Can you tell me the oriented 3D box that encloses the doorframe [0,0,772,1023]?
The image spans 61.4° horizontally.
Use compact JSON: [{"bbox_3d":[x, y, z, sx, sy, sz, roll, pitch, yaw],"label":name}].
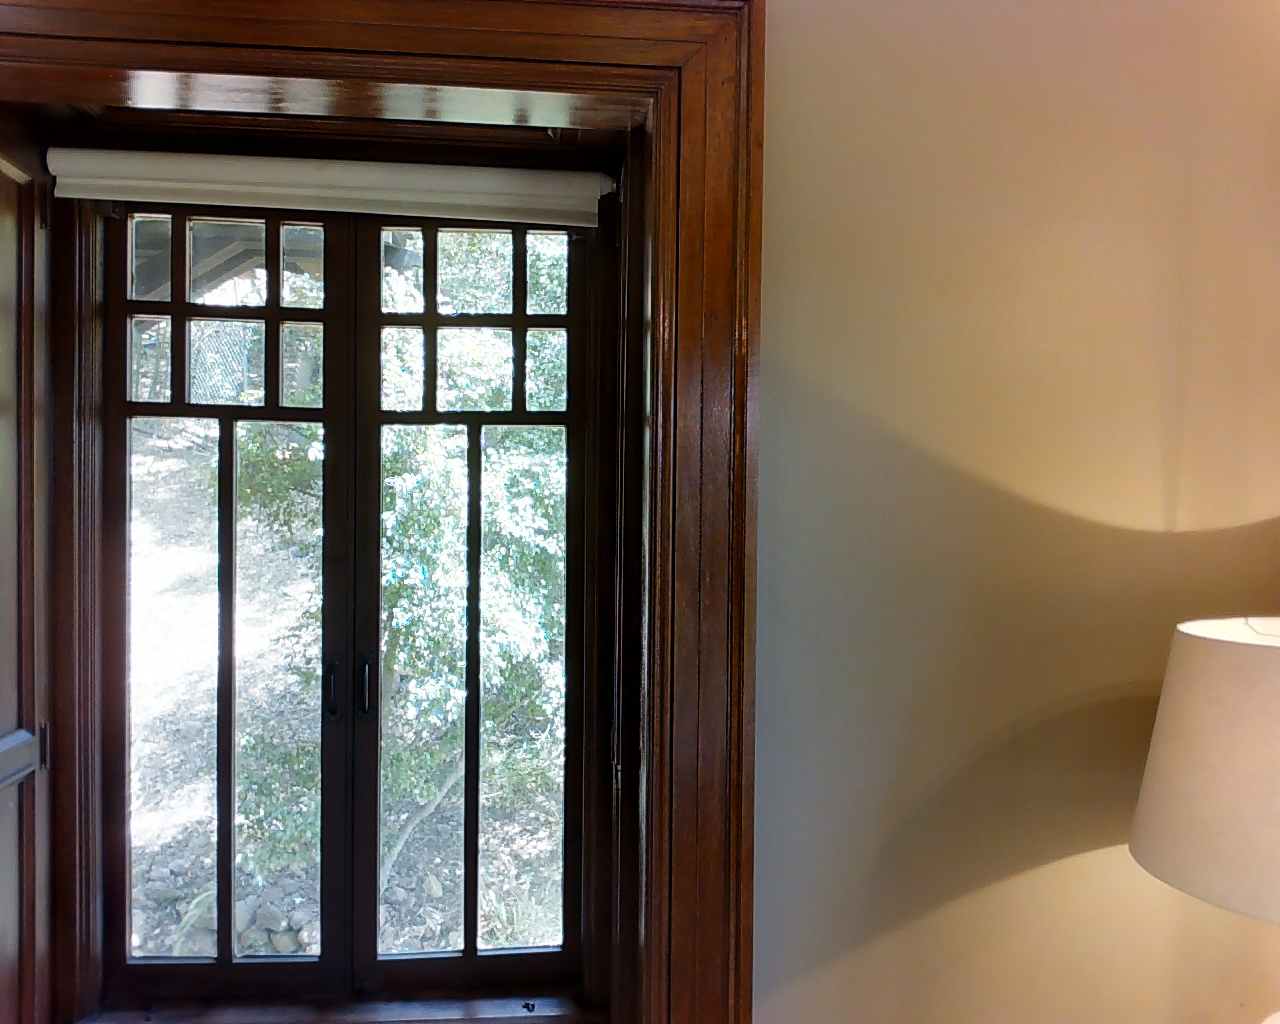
[{"bbox_3d":[-0.480,0.380,1.600,1.270,2.300,0.410,0,1,-6],"label":"doorframe"}]
